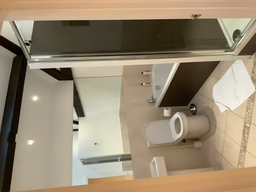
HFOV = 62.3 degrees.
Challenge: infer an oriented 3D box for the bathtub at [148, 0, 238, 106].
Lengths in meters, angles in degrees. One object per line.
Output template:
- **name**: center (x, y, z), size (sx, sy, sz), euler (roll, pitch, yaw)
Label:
- **bathtub**: center (0.780, -0.550, 3.120), size (1.650, 0.570, 0.710), euler (101, 163, -61)
